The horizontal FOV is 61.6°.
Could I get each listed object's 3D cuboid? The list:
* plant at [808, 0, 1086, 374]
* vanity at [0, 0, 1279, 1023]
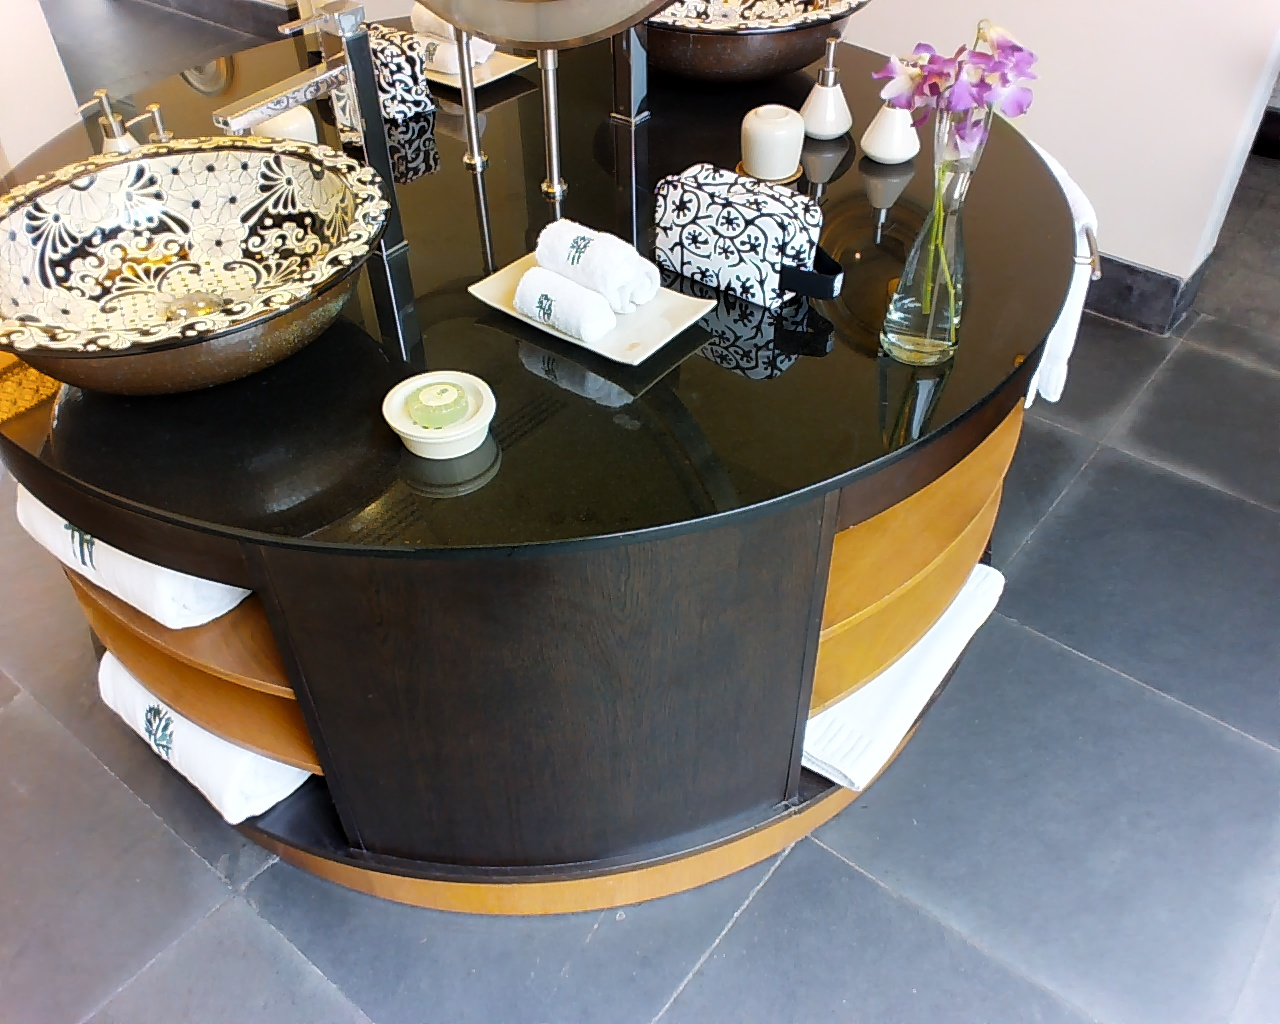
[{"bbox_3d":[0.310,-0.380,1.160,0.120,0.390,0.210,-21,47,-20],"label":"plant"},{"bbox_3d":[-0.100,-0.240,1.840,1.550,0.800,1.710,26,50,26],"label":"vanity"}]
